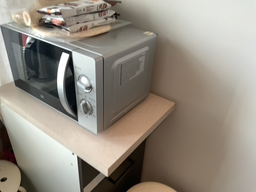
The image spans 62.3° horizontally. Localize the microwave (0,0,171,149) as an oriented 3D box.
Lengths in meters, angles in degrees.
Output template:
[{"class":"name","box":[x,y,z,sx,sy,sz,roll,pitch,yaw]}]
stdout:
[{"class":"microwave","box":[-0.180,-0.160,0.770,0.470,0.320,0.450,22,36,27]}]
